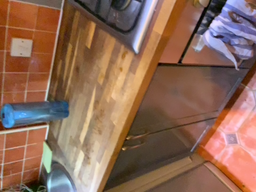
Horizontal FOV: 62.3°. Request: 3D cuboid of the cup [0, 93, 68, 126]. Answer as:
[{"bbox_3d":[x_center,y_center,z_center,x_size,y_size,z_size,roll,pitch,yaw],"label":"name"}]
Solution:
[{"bbox_3d":[-0.420,0.060,0.930,0.180,0.240,0.100,-13,84,49],"label":"cup"}]
